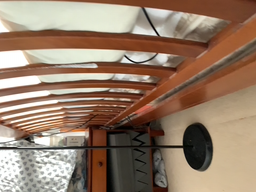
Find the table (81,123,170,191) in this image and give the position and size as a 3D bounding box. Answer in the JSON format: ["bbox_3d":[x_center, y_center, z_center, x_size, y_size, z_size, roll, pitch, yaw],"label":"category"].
[{"bbox_3d":[-0.070,0.540,1.790,0.610,0.610,0.560,140,131,-71],"label":"table"}]
